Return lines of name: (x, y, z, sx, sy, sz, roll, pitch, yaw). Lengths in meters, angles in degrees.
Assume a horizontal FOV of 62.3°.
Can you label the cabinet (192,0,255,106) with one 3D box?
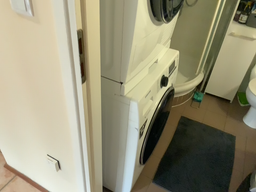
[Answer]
cabinet: (1.030, -0.740, 1.940, 0.320, 1.810, 0.330, 22, 42, 20)
